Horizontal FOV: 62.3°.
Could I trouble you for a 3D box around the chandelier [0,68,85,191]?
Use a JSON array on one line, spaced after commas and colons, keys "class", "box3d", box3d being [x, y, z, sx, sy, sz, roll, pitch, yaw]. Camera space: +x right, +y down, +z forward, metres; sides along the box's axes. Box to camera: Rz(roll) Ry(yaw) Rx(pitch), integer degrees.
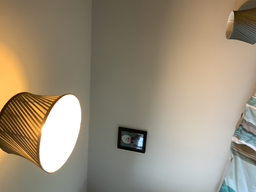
[{"class": "chandelier", "box3d": [-0.460, 0.130, 0.930, 0.350, 0.400, 0.320, -67, 163, -53]}]
